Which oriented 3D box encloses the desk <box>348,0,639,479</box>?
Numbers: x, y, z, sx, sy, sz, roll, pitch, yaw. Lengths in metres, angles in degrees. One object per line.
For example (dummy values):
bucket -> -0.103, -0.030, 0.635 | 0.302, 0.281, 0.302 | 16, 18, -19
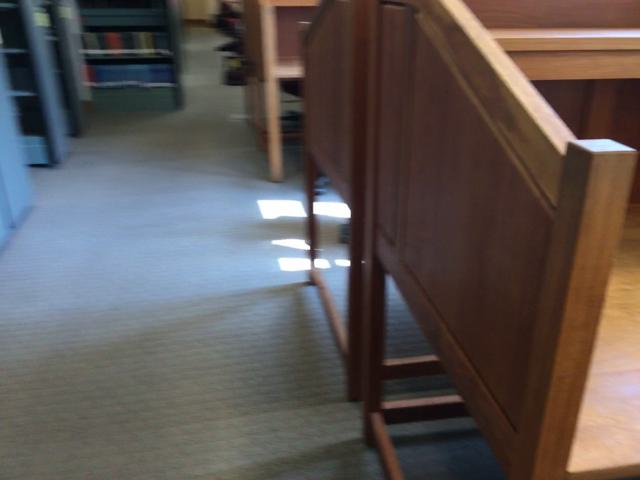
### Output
desk -> 0.820, 0.120, 1.290 | 1.300, 1.380, 1.010 | -5, 25, -9
